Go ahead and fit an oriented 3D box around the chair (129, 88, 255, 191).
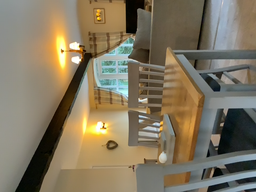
[{"bbox_3d":[0.540,0.320,1.140,0.700,1.050,0.460,-93,2,-61],"label":"chair"}]
